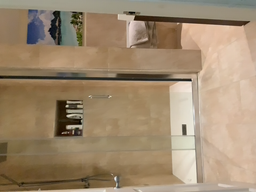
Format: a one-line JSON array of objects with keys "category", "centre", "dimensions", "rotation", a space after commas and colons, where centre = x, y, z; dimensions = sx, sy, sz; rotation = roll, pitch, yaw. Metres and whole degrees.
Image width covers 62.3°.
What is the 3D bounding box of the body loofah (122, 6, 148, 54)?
[{"category": "body loofah", "centre": [0.080, -0.810, 2.680], "dimensions": [0.420, 0.250, 0.440], "rotation": [144, 125, -80]}]
